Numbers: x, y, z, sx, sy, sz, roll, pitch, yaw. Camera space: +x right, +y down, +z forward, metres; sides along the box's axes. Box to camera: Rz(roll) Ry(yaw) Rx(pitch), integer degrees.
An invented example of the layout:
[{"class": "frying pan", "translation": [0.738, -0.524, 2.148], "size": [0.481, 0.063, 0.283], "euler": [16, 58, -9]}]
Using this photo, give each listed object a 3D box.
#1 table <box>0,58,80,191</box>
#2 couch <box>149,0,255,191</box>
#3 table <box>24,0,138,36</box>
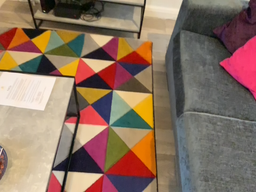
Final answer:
[{"class": "table", "translation": [-0.600, 0.350, 1.080], "size": [0.520, 0.450, 1.060], "euler": [4, 53, -5]}, {"class": "couch", "translation": [0.670, 0.120, 1.220], "size": [0.870, 0.770, 1.690], "euler": [3, 53, -5]}, {"class": "table", "translation": [-0.430, -0.950, 2.090], "size": [1.040, 0.430, 0.360], "euler": [6, 53, -3]}]
